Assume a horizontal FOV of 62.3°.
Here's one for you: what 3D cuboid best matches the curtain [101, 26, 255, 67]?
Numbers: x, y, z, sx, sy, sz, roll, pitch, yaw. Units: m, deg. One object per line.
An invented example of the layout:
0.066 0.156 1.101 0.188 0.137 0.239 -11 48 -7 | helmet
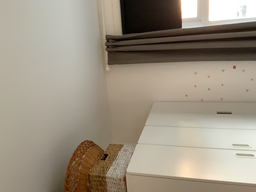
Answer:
0.680 -0.450 1.930 0.160 1.880 0.290 -44 -48 -71 | curtain
